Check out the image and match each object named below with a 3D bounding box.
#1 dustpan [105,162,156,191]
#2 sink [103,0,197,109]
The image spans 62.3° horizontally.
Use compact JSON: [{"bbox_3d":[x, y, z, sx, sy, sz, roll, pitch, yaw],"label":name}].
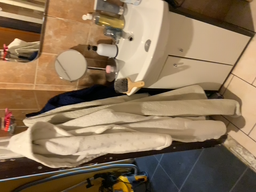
[{"bbox_3d":[0.010,1.010,2.340,0.310,0.340,0.420,57,134,41],"label":"dustpan"},{"bbox_3d":[0.070,-0.270,1.170,0.420,0.140,0.530,53,131,44],"label":"sink"}]
